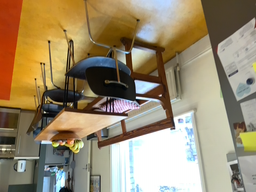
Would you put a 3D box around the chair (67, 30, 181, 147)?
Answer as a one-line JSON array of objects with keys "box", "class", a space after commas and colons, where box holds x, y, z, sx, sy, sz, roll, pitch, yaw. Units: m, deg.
[{"box": [-0.230, 0.110, 2.630, 0.550, 0.850, 1.800, 8, 159, -29], "class": "chair"}]

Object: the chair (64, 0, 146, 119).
[{"box": [-0.200, -0.260, 1.660, 0.400, 0.760, 0.510, 9, 158, -32], "class": "chair"}]
